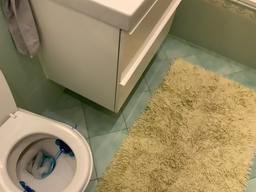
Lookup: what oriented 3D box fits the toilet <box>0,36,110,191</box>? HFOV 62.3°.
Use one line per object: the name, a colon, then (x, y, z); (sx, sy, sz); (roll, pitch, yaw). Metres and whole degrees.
toilet: (-0.410, 0.220, 0.860); (0.540, 0.820, 0.370); (27, 59, 10)
